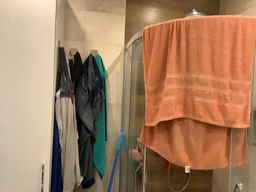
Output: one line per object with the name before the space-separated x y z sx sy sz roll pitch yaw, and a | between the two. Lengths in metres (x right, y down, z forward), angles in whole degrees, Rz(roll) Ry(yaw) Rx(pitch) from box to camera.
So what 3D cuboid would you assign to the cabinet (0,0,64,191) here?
cabinet | -0.810 -0.080 1.440 0.630 1.500 0.420 2 0 -12
